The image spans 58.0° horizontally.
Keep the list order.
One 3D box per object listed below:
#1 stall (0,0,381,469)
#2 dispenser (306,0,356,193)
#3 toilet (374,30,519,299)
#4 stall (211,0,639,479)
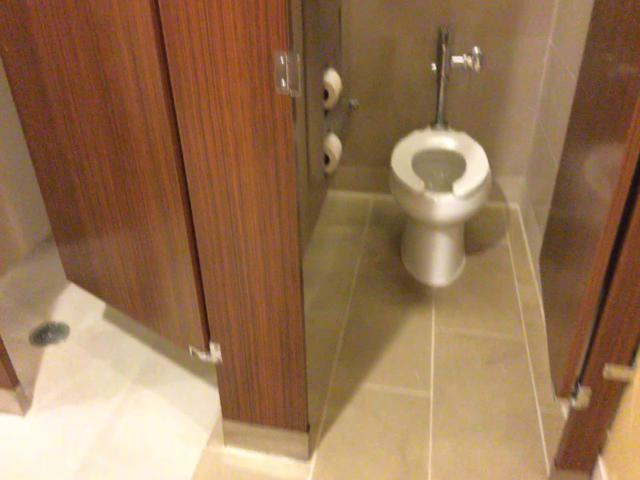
[{"bbox_3d":[-0.380,-0.480,1.840,0.990,1.470,1.550,5,31,9],"label":"stall"},{"bbox_3d":[0.040,-0.560,1.730,0.080,0.730,0.400,5,31,9],"label":"dispenser"},{"bbox_3d":[0.460,-0.330,2.240,0.390,0.770,0.770,5,31,9],"label":"toilet"},{"bbox_3d":[0.390,-0.500,1.660,0.870,1.660,1.530,5,31,9],"label":"stall"}]
